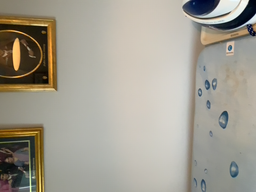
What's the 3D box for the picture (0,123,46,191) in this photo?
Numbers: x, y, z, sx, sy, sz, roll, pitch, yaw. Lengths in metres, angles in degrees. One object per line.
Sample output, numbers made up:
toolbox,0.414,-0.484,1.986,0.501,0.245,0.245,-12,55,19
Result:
picture,-0.510,0.300,0.880,0.030,0.310,0.360,-156,66,-74
